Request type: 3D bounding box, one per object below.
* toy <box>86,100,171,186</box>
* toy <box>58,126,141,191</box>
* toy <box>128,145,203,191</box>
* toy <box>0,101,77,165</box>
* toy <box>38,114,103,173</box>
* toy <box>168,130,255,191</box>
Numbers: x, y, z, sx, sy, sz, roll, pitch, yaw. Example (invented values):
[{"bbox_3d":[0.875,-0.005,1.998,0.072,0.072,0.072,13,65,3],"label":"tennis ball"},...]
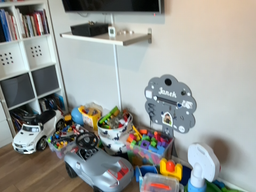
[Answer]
[{"bbox_3d":[0.000,0.410,2.070,0.700,0.460,0.400,17,32,36],"label":"toy"},{"bbox_3d":[-0.260,0.600,1.900,0.660,0.310,0.390,21,35,41],"label":"toy"},{"bbox_3d":[0.300,0.680,1.700,0.450,0.250,0.380,-25,33,-37],"label":"toy"},{"bbox_3d":[-1.040,0.390,2.480,0.710,0.310,0.440,-25,33,-38],"label":"toy"},{"bbox_3d":[-0.610,0.480,2.290,0.500,0.280,0.420,-25,33,-38],"label":"toy"},{"bbox_3d":[0.590,0.620,1.510,0.470,0.470,0.400,-25,33,-38],"label":"toy"}]
